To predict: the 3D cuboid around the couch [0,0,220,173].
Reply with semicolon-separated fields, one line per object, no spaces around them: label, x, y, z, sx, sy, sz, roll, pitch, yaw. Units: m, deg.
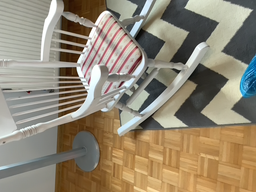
couch;-0.250;-0.190;1.110;0.880;1.150;0.620;-48;63;29
